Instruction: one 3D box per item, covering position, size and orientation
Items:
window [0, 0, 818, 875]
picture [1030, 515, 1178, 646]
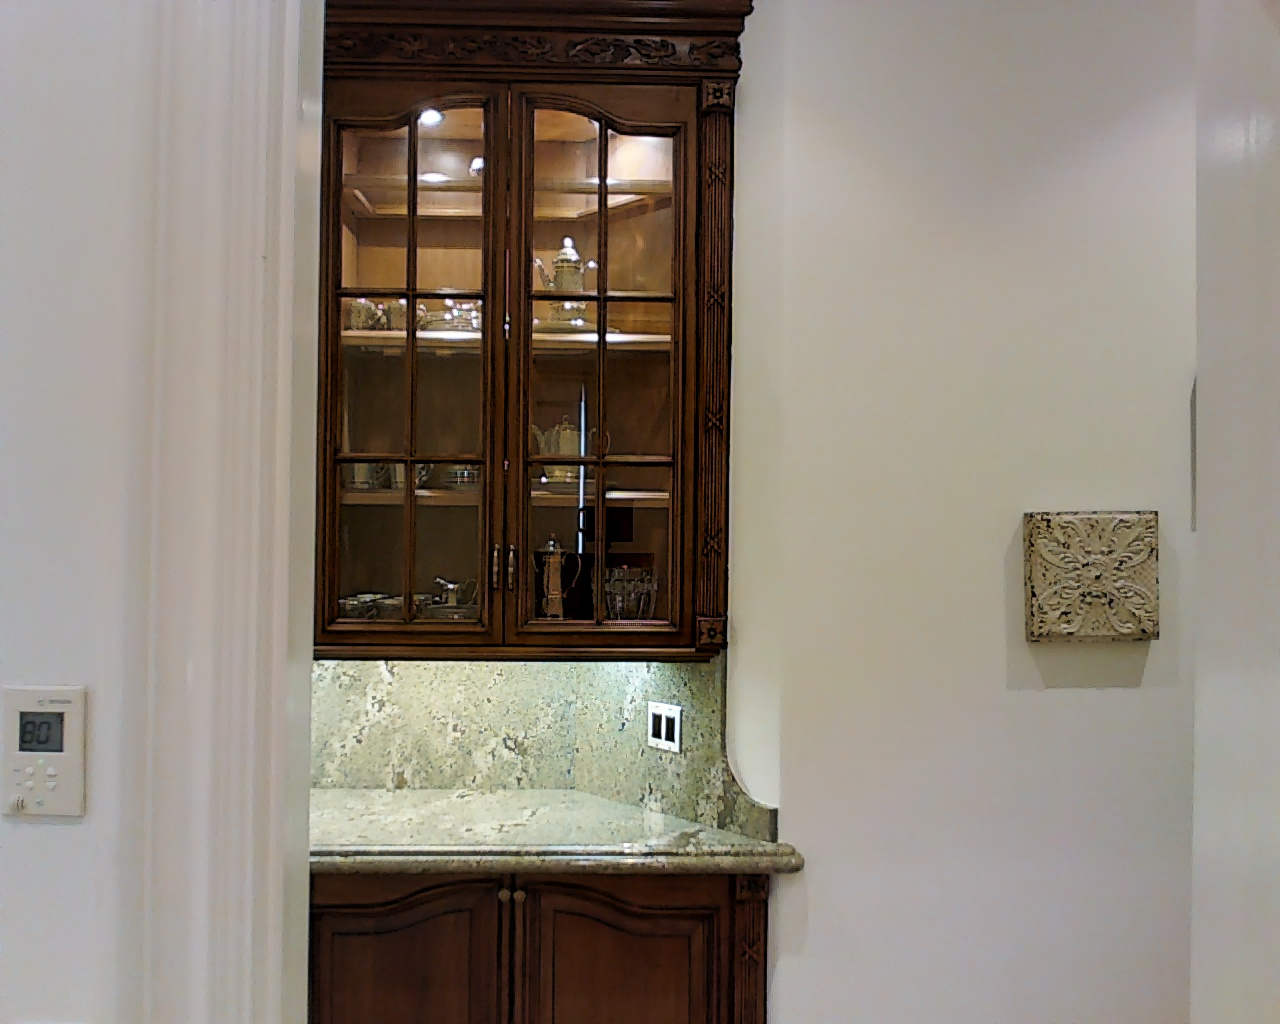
[{"bbox_3d":[-0.830,-0.280,2.720,2.439,2.181,0.590,1,-1,-1],"label":"window"},{"bbox_3d":[1.090,0.160,2.520,0.330,0.300,0.040,1,-1,-1],"label":"picture"}]
